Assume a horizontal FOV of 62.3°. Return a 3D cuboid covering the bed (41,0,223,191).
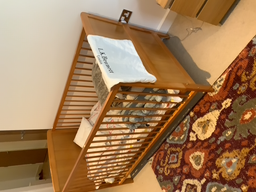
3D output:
[{"bbox_3d":[-0.190,0.150,1.980,1.630,0.840,0.900,-61,40,35],"label":"bed"}]
